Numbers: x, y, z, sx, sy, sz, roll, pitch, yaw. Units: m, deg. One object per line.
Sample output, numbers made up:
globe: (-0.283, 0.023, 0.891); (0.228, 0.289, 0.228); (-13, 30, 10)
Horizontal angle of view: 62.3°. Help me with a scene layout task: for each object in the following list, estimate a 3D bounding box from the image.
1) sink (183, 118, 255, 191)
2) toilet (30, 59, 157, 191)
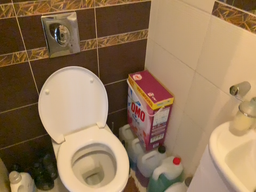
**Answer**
sink: (0.430, 0.310, 0.670); (0.210, 0.130, 0.500); (-16, 44, -23)
toilet: (-0.200, 0.310, 1.170); (0.380, 0.810, 0.530); (-16, 44, -23)
